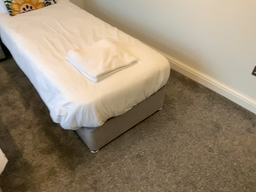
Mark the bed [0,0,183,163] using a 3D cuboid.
[{"bbox_3d":[-0.640,-0.460,2.120,0.890,0.520,2.140,-31,51,-30],"label":"bed"}]
